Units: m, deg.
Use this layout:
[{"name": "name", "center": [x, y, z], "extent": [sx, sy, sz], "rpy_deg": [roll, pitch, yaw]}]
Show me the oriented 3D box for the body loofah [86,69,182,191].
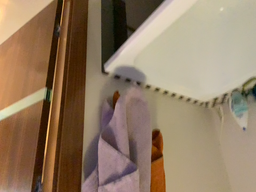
[{"name": "body loofah", "center": [0.030, 0.440, 0.710], "extent": [0.290, 1.060, 0.190], "rpy_deg": [18, 146, -36]}]
